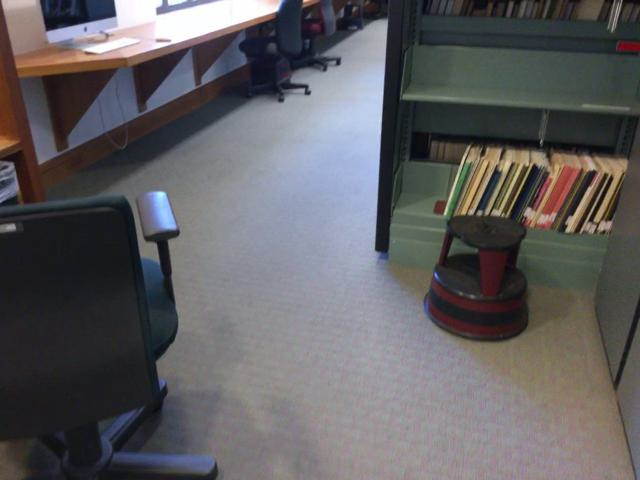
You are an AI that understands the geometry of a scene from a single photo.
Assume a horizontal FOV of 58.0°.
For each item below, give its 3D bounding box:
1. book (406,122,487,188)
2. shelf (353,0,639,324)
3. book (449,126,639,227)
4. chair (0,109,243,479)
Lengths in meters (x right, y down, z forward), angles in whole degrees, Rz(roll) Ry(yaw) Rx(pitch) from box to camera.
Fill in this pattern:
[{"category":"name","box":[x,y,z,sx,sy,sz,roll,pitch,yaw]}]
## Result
[{"category":"book","box":[0.590,-0.400,2.660,0.320,0.160,0.390,8,27,13]},{"category":"shelf","box":[0.770,-1.060,2.110,1.040,2.550,0.800,8,27,13]},{"category":"book","box":[0.920,-0.280,2.410,0.700,0.250,0.340,8,27,13]},{"category":"chair","box":[-0.600,0.250,1.360,0.660,0.920,0.660,-9,28,-20]}]
